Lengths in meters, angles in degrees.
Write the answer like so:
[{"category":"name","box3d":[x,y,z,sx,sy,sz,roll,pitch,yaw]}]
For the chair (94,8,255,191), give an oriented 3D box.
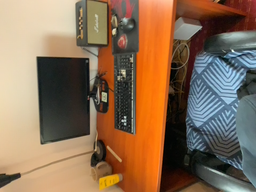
[{"category":"chair","box3d":[0.540,0.110,0.890,0.870,1.060,0.680,13,105,52]}]
